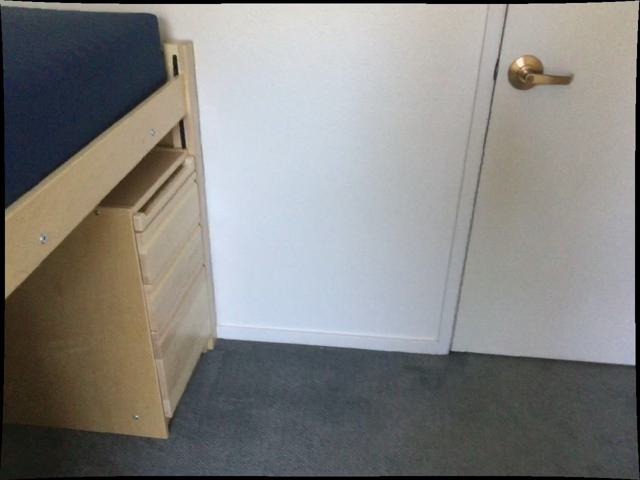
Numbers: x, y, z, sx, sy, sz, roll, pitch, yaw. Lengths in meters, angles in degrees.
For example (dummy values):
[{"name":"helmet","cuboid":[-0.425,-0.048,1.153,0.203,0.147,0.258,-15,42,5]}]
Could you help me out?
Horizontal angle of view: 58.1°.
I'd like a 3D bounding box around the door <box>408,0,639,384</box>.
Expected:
[{"name":"door","cuboid":[0.829,-0.581,1.380,0.958,2.323,0.110,4,30,3]}]
